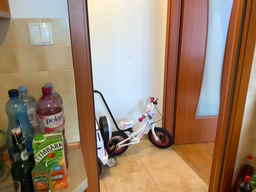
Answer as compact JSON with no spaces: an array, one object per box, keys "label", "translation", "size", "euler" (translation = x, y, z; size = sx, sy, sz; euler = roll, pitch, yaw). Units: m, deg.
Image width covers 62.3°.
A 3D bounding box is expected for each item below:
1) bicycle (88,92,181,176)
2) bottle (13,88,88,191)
[{"label":"bicycle","translation":[0.040,0.380,2.350],"size":[0.890,0.680,0.470],"euler":[-4,19,-12]},{"label":"bottle","translation":[-0.270,0.160,0.780],"size":[0.180,0.280,0.340],"euler":[-6,19,-18]}]
